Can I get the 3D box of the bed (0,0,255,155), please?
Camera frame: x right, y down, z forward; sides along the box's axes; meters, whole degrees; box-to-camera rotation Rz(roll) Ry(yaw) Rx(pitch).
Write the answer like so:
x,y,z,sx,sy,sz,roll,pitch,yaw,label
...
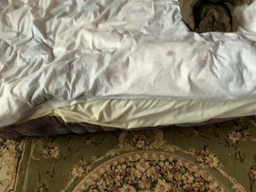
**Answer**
x,y,z,sx,sy,sz,roll,pitch,yaw,label
-0.170,-0.430,1.120,1.960,0.420,1.310,-5,59,5,bed
